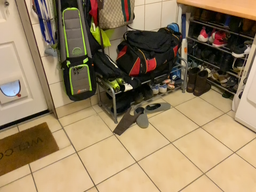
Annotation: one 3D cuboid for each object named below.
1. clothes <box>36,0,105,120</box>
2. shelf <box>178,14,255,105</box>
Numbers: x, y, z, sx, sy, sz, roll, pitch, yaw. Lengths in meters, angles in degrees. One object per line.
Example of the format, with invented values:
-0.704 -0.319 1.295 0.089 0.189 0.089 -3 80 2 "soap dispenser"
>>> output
-0.420 -0.360 1.650 0.330 1.150 0.190 -23 40 -27 "clothes"
1.010 -0.430 2.290 0.440 0.660 0.750 -21 40 -26 "shelf"
